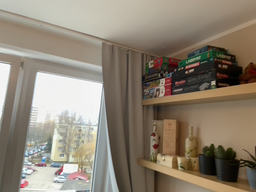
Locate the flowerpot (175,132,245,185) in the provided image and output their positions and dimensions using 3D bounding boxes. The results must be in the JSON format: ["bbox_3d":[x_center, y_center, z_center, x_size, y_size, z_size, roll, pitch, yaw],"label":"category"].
[{"bbox_3d":[0.540,0.400,1.440,0.190,0.270,0.410,9,-10,-28],"label":"flowerpot"}]

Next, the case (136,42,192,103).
[{"bbox_3d":[0.330,-0.190,1.980,0.310,0.440,0.400,9,-10,-28],"label":"case"}]

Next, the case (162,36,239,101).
[{"bbox_3d":[0.520,-0.170,1.580,0.280,0.340,0.470,9,-10,-28],"label":"case"}]
